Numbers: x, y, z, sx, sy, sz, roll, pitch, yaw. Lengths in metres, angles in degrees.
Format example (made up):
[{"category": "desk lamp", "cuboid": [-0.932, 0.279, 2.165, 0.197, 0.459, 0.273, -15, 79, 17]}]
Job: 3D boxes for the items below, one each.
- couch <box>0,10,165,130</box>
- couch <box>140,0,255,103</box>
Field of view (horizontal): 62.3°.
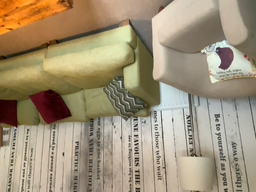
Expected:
[{"category": "couch", "cuboid": [-1.050, -0.070, 2.790, 2.770, 0.790, 1.170, -7, 164, 23]}, {"category": "couch", "cuboid": [0.700, -0.420, 1.650, 0.880, 0.730, 0.810, 8, 163, -31]}]
